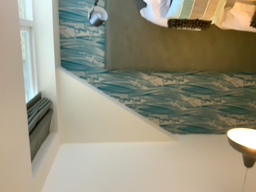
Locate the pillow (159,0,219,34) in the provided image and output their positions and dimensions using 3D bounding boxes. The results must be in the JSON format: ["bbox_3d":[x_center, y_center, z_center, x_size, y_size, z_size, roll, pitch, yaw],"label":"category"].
[{"bbox_3d":[0.530,-0.770,1.850,0.420,0.400,0.150,0,-140,-8],"label":"pillow"}]
